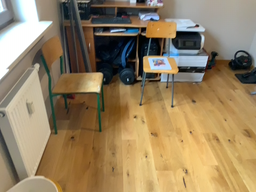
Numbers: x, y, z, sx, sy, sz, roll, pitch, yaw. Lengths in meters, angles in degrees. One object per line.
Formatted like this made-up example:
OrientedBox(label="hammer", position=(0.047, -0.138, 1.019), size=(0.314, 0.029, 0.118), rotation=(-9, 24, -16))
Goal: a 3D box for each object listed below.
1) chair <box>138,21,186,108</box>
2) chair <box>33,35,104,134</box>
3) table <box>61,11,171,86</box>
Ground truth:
OrientedBox(label="chair", position=(0.330, -0.350, 2.370), size=(0.380, 0.820, 0.480), rotation=(2, 33, -1))
OrientedBox(label="chair", position=(-0.480, -0.100, 1.950), size=(0.470, 0.790, 0.440), rotation=(0, 33, -4))
OrientedBox(label="table", position=(-0.150, -0.650, 2.870), size=(1.240, 0.770, 0.670), rotation=(1, 33, -3))
